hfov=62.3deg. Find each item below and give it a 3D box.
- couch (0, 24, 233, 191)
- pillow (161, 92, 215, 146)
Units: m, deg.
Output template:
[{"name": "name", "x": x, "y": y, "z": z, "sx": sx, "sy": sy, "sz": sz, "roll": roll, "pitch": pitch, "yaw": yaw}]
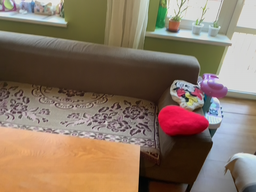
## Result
[{"name": "couch", "x": -0.500, "y": -0.010, "z": 1.910, "sx": 2.250, "sy": 0.750, "sz": 1.100, "roll": 8, "pitch": 33, "yaw": 1}, {"name": "pillow", "x": 0.410, "y": 0.150, "z": 1.530, "sx": 0.310, "sy": 0.150, "sz": 0.360, "roll": 9, "pitch": 33, "yaw": 3}]
